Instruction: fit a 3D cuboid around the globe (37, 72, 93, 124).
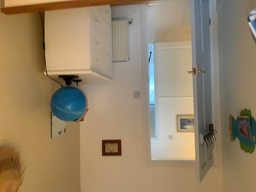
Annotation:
[{"bbox_3d":[-0.530,0.020,1.850,0.340,0.400,0.380,-2,179,7],"label":"globe"}]
